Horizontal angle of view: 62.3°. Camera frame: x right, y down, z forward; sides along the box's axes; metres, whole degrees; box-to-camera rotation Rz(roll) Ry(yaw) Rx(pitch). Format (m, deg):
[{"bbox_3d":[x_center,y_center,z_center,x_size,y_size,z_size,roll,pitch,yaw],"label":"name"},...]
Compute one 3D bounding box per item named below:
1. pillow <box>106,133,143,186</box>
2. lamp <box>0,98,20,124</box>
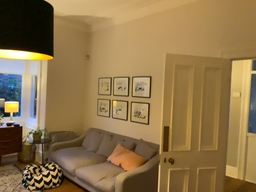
[{"bbox_3d":[-0.080,0.950,3.260,0.130,0.370,0.700,0,34,-36],"label":"pillow"},{"bbox_3d":[-2.470,0.300,4.420,0.300,0.490,0.330,2,2,-42],"label":"lamp"}]
